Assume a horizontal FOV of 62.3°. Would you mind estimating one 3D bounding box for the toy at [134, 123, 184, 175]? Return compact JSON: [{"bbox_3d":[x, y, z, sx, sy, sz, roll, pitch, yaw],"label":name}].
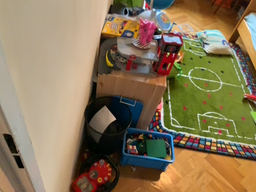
[{"bbox_3d":[0.220,0.380,1.530,0.310,0.140,0.280,11,48,-3],"label":"toy"}]
